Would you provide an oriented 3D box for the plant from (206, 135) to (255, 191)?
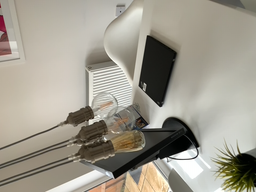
[{"bbox_3d":[0.390,0.250,0.730,0.130,0.150,0.140,46,141,40],"label":"plant"}]
